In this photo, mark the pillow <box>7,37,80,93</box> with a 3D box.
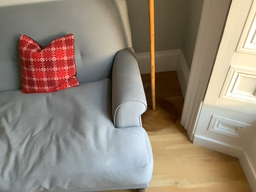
[{"bbox_3d":[-0.510,-0.200,1.330,0.340,0.310,0.170,-2,16,3],"label":"pillow"}]
